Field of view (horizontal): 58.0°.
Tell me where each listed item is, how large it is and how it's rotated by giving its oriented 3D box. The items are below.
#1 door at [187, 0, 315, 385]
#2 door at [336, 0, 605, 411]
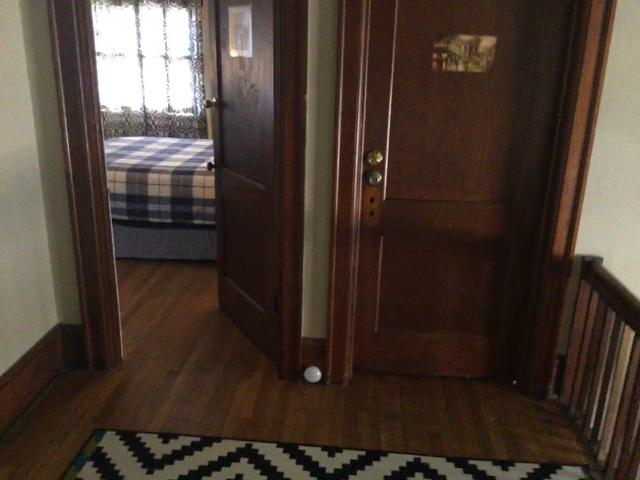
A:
[{"bbox_3d":[-0.390,-0.410,2.840,0.300,1.980,0.870,-3,16,-26],"label":"door"},{"bbox_3d":[0.580,-0.270,2.450,0.860,1.970,0.250,5,14,4],"label":"door"}]
